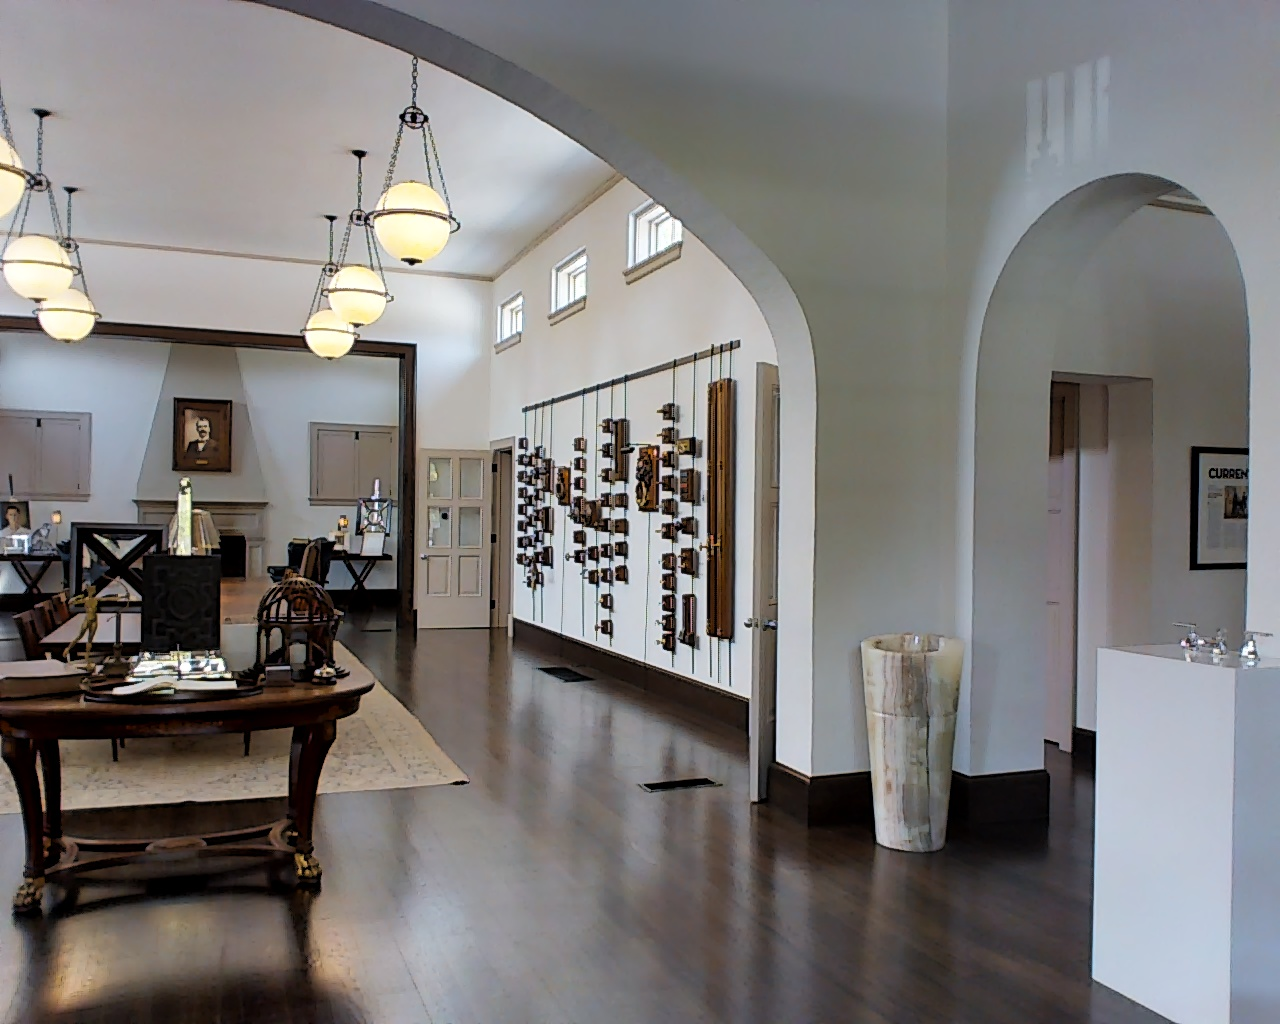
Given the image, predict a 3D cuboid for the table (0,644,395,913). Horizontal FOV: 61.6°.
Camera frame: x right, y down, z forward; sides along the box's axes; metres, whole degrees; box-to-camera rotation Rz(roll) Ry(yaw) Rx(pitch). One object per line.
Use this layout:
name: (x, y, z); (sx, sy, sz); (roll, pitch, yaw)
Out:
table: (-1.900, 1.040, 4.520); (1.560, 0.800, 0.960); (1, 0, -21)
